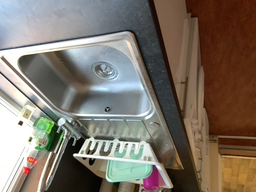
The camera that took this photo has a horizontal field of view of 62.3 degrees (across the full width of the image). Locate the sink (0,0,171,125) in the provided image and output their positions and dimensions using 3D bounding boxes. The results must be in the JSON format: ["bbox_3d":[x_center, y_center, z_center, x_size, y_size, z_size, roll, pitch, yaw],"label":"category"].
[{"bbox_3d":[-0.140,-0.090,0.820,0.510,0.190,0.450,-2,143,23],"label":"sink"}]
